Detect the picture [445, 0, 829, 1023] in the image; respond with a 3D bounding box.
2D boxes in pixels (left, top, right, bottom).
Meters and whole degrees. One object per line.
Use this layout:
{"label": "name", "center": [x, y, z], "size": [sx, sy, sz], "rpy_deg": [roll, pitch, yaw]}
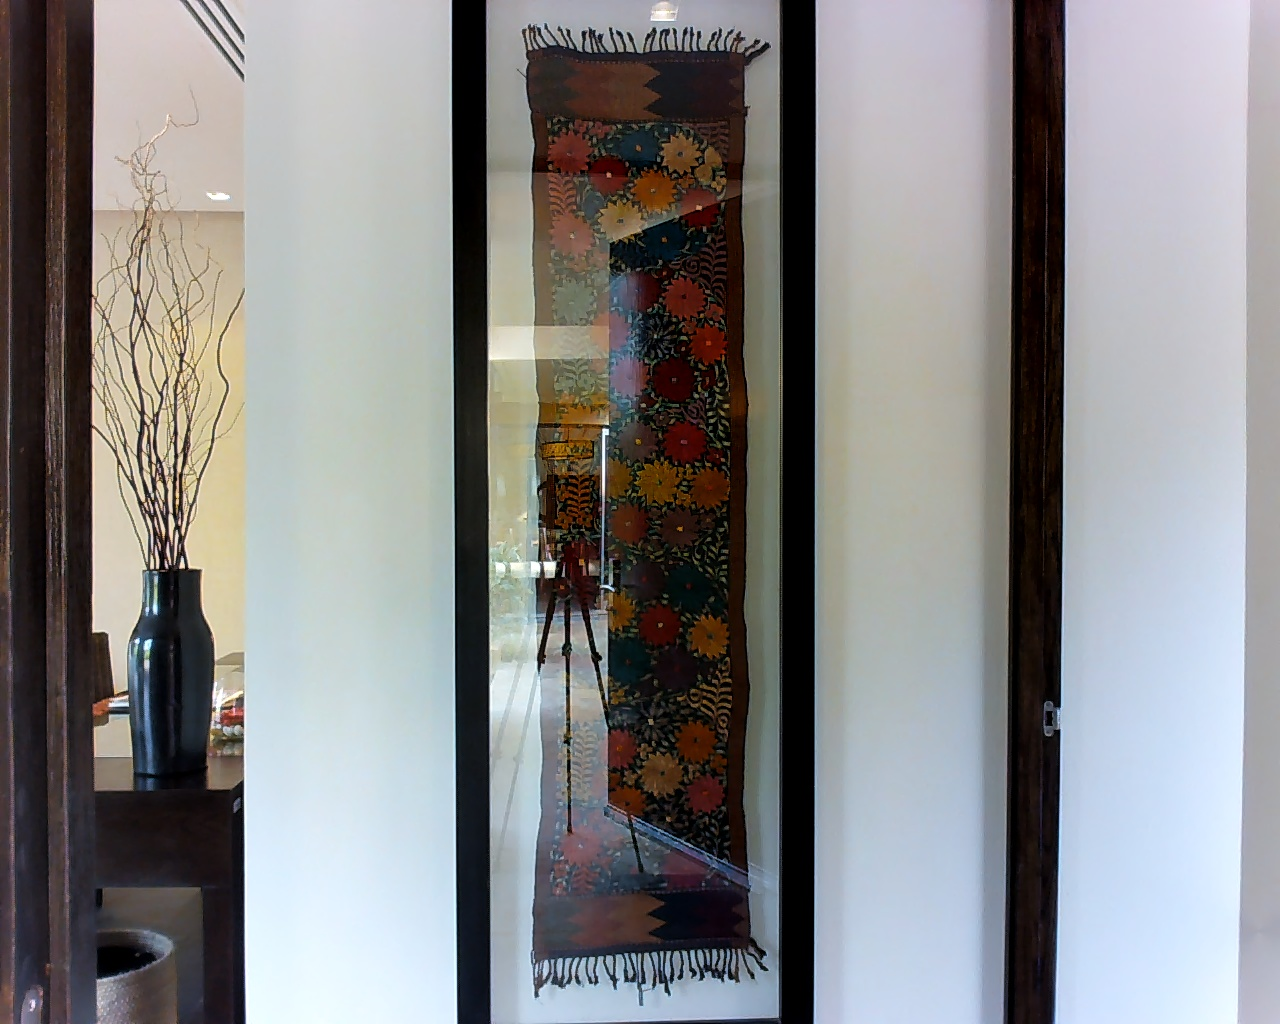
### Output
{"label": "picture", "center": [0.000, -0.020, 2.170], "size": [0.760, 2.271, 0.050], "rpy_deg": [0, 1, -4]}
